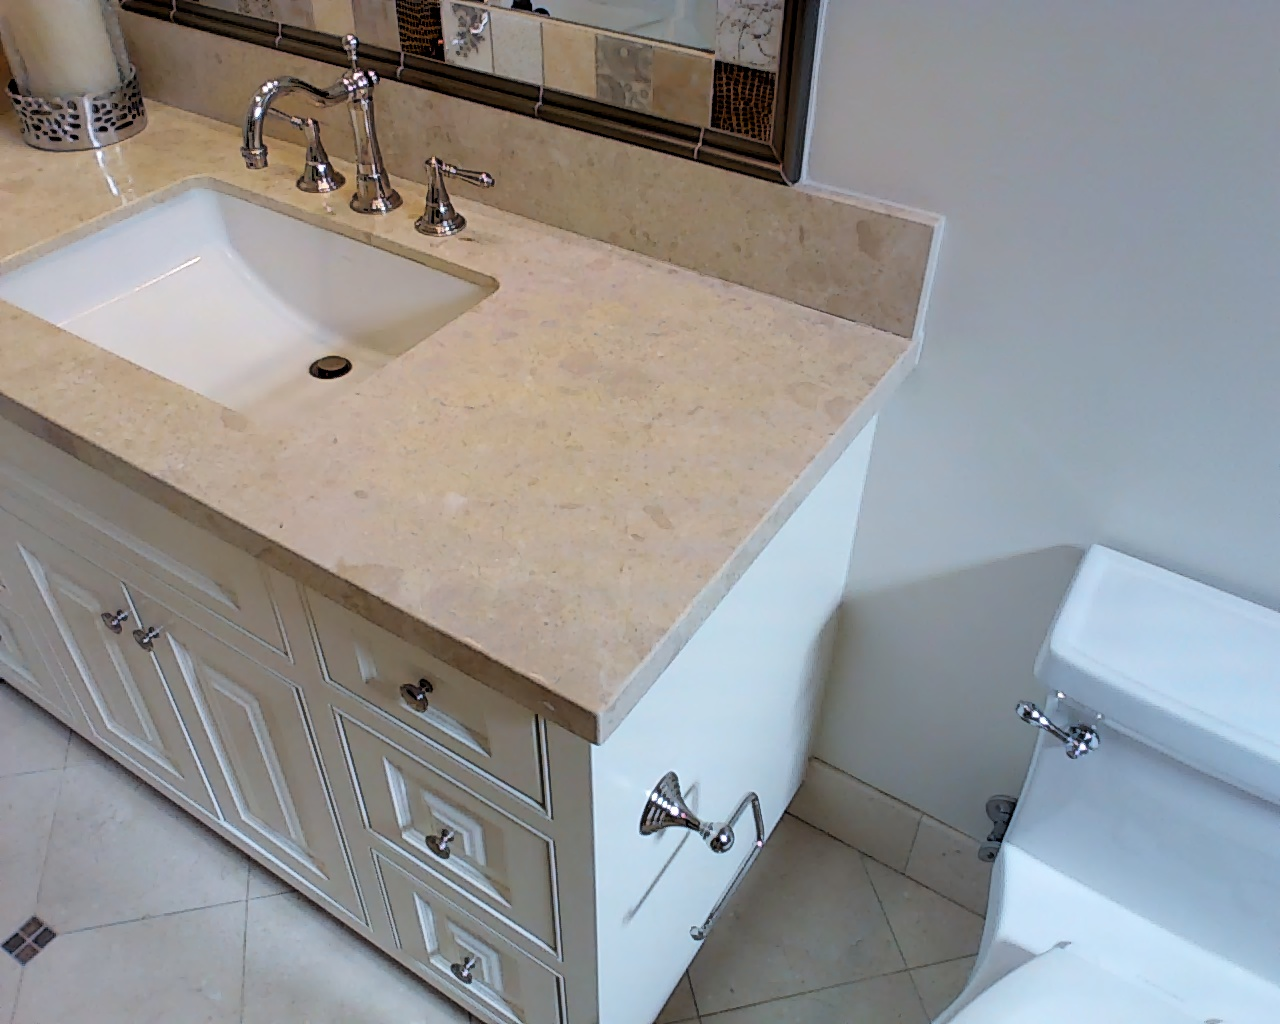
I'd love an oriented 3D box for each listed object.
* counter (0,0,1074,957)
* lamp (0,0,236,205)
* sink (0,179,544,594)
[{"bbox_3d":[-0.390,-0.240,1.160,1.440,0.340,0.630,24,46,24],"label":"counter"},{"bbox_3d":[-0.750,-0.630,1.450,0.200,0.310,0.250,20,45,22],"label":"lamp"},{"bbox_3d":[-0.440,-0.180,1.270,0.540,0.190,0.350,24,46,24],"label":"sink"}]
